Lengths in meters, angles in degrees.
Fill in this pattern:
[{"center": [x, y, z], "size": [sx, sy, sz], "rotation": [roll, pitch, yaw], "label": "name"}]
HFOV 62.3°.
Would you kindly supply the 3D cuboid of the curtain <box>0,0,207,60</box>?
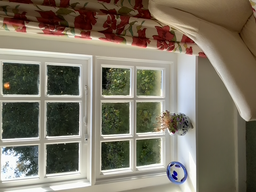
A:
[{"center": [-0.200, -0.460, 1.190], "size": [0.210, 1.420, 0.390], "rotation": [180, 91, -69], "label": "curtain"}]
